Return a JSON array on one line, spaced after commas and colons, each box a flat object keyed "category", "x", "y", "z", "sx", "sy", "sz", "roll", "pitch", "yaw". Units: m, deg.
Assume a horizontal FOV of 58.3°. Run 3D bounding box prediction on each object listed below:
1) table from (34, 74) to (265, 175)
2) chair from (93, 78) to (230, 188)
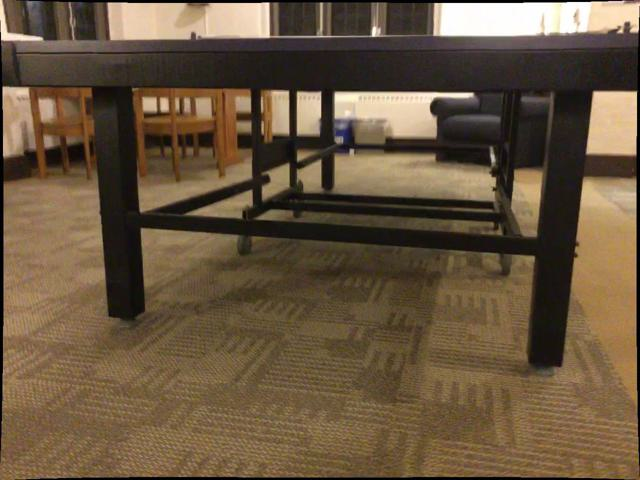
[{"category": "table", "x": -1.509, "y": -1.081, "z": 5.330, "sx": 1.659, "sy": 0.791, "sz": 1.070, "roll": 1, "pitch": 15, "yaw": 15}, {"category": "chair", "x": -1.169, "y": -0.841, "z": 4.420, "sx": 0.739, "sy": 0.741, "sz": 0.730, "roll": -1, "pitch": 15, "yaw": 5}]
